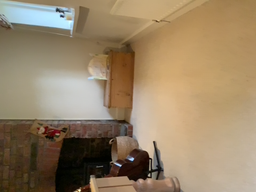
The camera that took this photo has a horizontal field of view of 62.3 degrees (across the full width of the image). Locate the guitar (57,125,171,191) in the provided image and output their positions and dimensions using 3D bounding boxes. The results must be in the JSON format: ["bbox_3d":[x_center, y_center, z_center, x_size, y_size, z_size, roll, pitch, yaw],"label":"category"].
[{"bbox_3d":[-0.110,0.740,2.040,0.380,1.040,0.180,61,165,-11],"label":"guitar"}]
